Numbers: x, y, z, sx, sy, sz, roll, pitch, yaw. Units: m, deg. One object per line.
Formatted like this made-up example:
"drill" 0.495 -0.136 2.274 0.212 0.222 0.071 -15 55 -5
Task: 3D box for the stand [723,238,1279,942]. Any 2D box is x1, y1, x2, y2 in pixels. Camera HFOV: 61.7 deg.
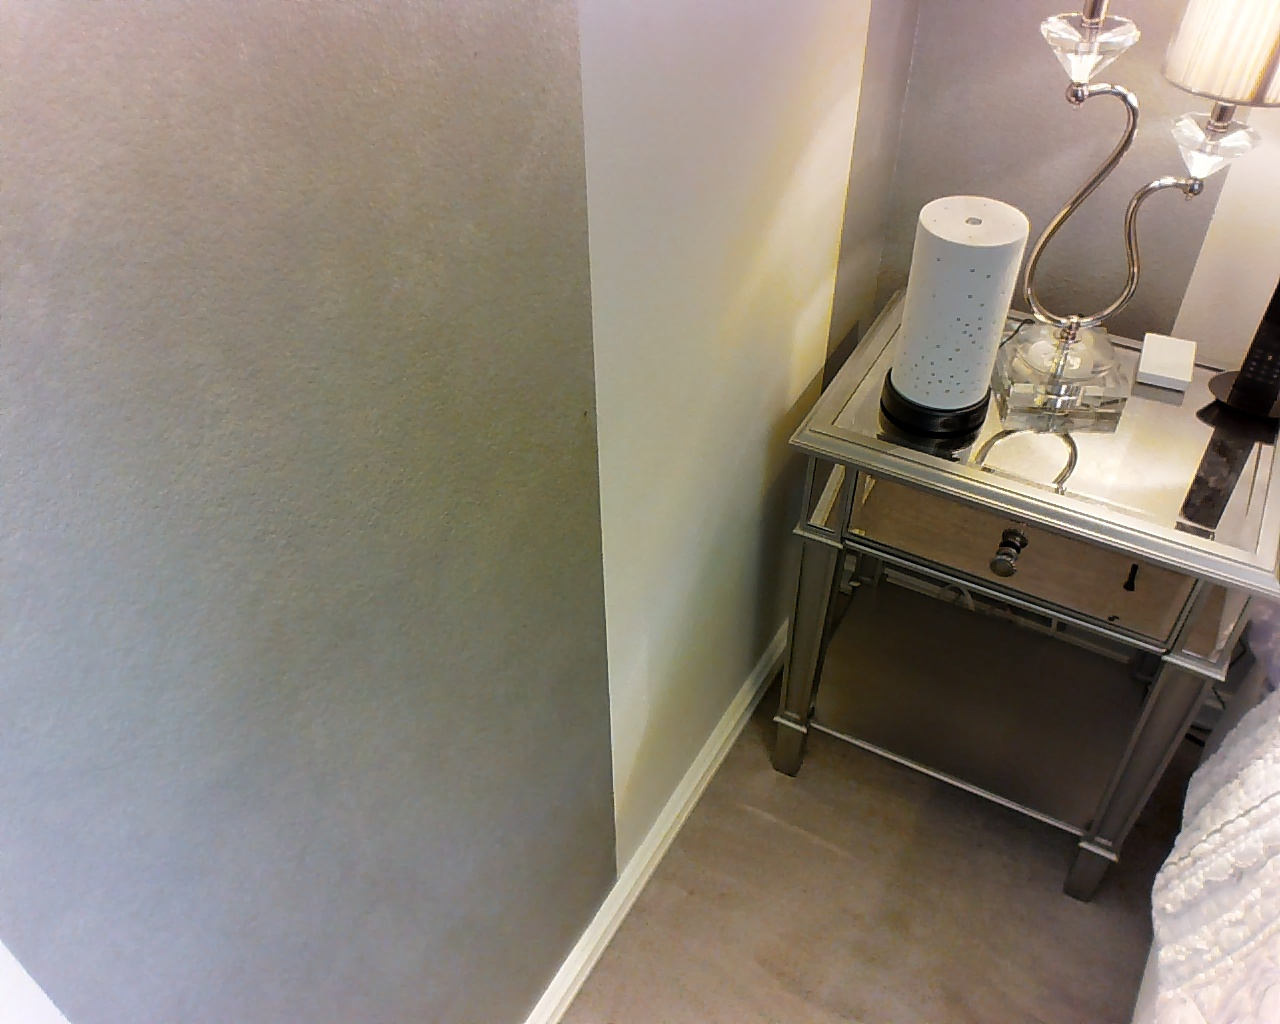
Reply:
"stand" 0.540 0.100 1.580 0.650 0.710 0.490 21 46 23
